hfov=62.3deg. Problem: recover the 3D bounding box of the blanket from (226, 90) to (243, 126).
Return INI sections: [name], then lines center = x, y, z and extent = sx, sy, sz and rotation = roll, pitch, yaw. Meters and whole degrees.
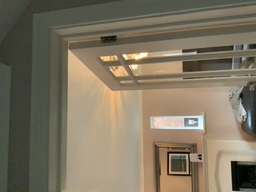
[blanket]
center = 1.920, 0.220, 3.850
extent = 0.480, 0.140, 0.600
rotation = 16, -106, -77
